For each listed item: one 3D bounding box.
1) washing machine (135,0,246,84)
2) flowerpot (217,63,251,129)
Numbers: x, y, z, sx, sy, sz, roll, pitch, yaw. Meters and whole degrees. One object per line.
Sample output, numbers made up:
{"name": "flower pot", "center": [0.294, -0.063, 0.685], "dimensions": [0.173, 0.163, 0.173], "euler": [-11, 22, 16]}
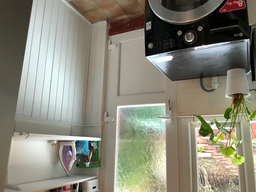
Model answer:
{"name": "washing machine", "center": [0.500, -0.630, 1.600], "dimensions": [0.590, 0.850, 0.810], "euler": [-4, 166, 26]}
{"name": "flowerpot", "center": [0.780, 0.020, 1.570], "dimensions": [0.180, 0.430, 0.280], "euler": [-5, 166, 27]}
